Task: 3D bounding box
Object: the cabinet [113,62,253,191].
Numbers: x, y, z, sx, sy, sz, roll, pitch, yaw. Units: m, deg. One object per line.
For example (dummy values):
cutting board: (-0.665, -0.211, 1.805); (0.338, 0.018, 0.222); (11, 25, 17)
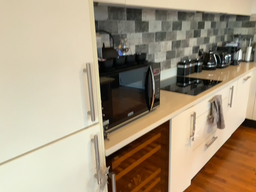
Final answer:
cabinet: (0.790, 0.220, 2.450); (0.610, 0.910, 2.030); (13, 23, 40)
